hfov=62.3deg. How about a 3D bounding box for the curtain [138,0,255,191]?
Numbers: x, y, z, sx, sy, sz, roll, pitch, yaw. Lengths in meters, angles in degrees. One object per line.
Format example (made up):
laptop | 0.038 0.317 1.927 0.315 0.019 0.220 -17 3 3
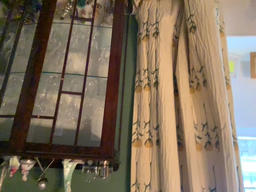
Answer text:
curtain | 0.330 0.430 1.120 0.540 2.520 0.260 1 161 4
